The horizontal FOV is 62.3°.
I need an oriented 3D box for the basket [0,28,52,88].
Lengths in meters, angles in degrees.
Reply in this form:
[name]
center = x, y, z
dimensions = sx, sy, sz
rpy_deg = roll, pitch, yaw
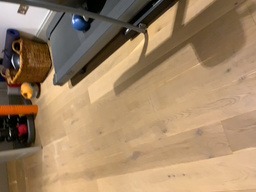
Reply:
[basket]
center = -1.410, -0.470, 2.880
dimensions = 0.610, 0.460, 0.510
rpy_deg = -32, 67, 42
